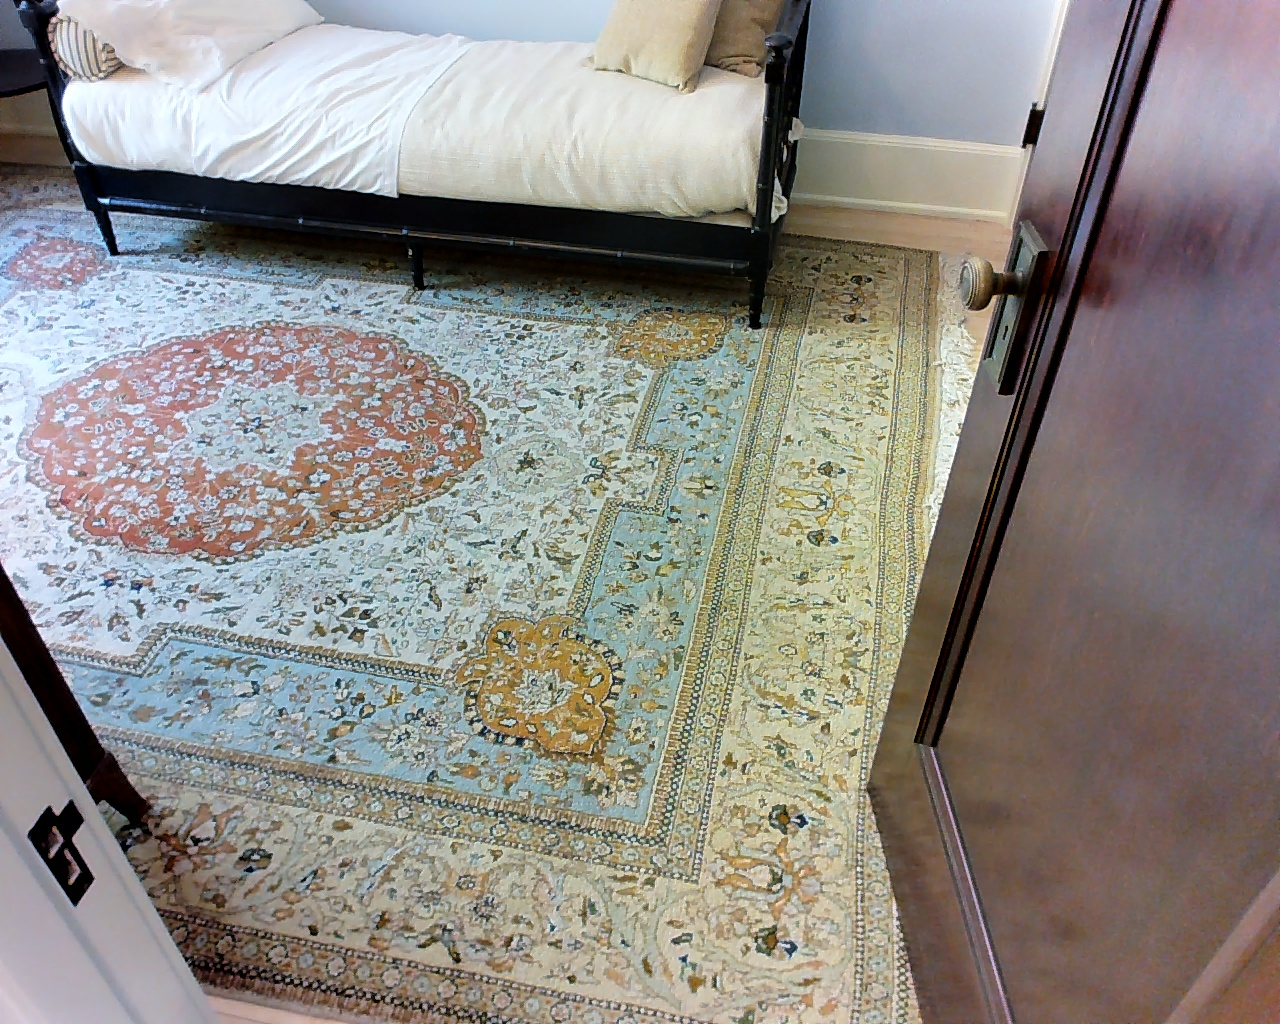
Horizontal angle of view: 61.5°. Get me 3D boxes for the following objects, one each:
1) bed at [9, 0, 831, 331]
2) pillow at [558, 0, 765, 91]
[{"bbox_3d":[-0.520,-1.250,3.090,2.020,0.860,0.920,8,42,9],"label":"bed"},{"bbox_3d":[0.060,-1.400,2.910,0.450,0.320,0.340,23,46,24],"label":"pillow"}]
